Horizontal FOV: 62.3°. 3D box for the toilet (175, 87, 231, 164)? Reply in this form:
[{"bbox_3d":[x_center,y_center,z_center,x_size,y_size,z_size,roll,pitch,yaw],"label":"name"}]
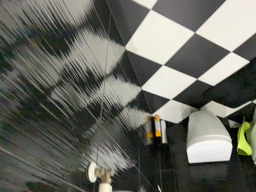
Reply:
[{"bbox_3d":[0.660,0.290,1.930,0.350,0.470,0.520,-9,144,14],"label":"toilet"}]
